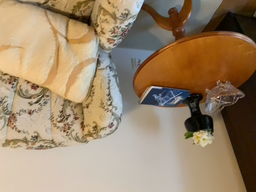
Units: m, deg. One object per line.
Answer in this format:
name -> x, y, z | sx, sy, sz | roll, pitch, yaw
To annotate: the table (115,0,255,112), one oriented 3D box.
table -> 0.300, -0.340, 1.220 | 0.600, 0.630, 0.600 | 4, 149, -16
